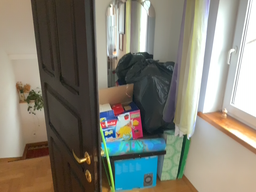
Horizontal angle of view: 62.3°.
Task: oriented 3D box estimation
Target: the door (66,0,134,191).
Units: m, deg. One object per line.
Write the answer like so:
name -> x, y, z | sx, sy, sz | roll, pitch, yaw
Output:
door -> -0.230, 0.190, 1.150 | 0.120, 1.950, 0.820 | -1, 15, -22

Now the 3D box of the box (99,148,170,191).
box -> 0.040, 0.860, 2.070 | 0.580, 0.530, 0.350 | 0, 15, -18
